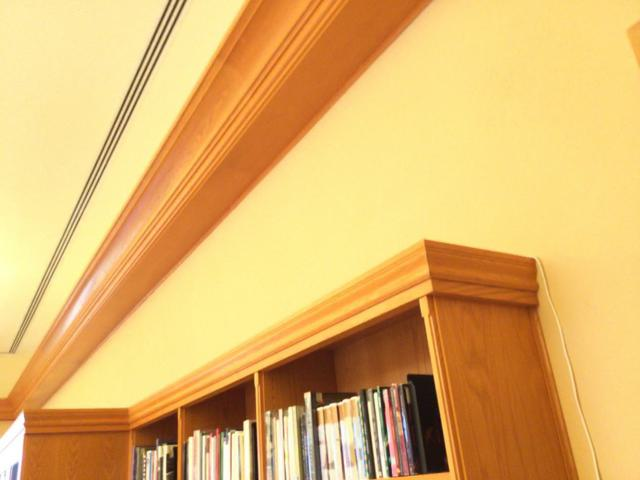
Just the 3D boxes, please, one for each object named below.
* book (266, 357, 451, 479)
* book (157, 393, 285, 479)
[{"bbox_3d":[0.060,0.550,1.630,0.120,0.280,0.710,10,-28,-29],"label":"book"},{"bbox_3d":[-0.440,0.880,2.340,0.140,0.340,1.000,10,-28,-29],"label":"book"}]
